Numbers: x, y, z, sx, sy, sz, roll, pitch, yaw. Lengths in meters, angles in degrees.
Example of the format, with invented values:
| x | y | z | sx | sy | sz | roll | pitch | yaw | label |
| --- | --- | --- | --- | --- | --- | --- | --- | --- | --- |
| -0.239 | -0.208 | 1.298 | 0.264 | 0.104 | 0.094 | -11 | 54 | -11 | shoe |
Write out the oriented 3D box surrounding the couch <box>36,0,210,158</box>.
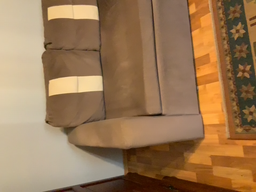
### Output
| x | y | z | sx | sy | sz | roll | pitch | yaw | label |
| --- | --- | --- | --- | --- | --- | --- | --- | --- | --- |
| -0.170 | -0.410 | 1.680 | 1.050 | 0.850 | 1.550 | -17 | 76 | 56 | couch |
